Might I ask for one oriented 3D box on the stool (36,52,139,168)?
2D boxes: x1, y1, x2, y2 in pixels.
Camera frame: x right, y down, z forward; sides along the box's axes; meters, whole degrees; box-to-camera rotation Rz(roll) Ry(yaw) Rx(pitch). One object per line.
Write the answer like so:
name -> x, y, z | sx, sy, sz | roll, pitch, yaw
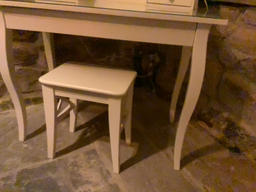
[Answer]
stool -> -0.190, 0.060, 1.140 | 0.410, 0.470, 0.300 | 9, 28, 10
